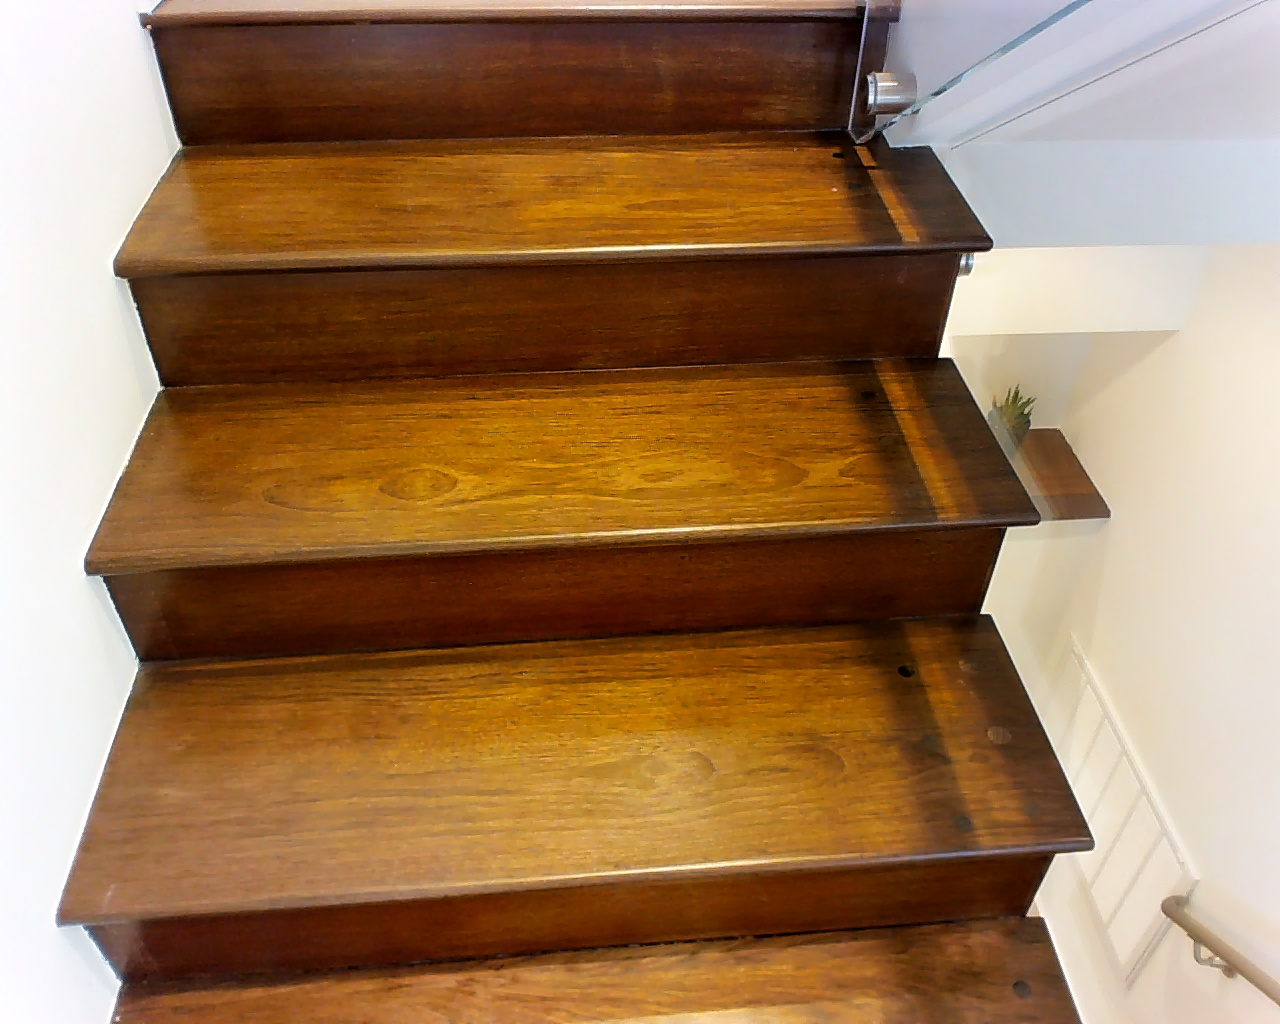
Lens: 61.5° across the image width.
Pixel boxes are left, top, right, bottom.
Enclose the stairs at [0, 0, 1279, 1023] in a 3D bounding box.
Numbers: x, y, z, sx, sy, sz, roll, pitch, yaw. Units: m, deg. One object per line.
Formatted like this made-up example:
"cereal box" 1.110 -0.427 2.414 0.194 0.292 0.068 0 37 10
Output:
"stairs" 0.430 -0.180 1.070 2.040 3.050 3.140 -3 41 -4
